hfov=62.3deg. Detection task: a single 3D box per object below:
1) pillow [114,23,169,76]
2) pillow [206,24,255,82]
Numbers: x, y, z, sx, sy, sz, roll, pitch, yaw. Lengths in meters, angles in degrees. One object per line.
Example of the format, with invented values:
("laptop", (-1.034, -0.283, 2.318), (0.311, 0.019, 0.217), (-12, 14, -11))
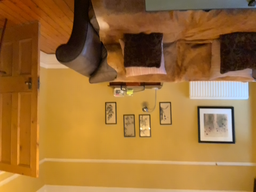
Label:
("pillow", (0.140, -0.490, 2.270), (0.450, 0.410, 0.150), (-20, 179, 2))
("pillow", (1.120, -0.430, 2.180), (0.450, 0.440, 0.180), (-18, 179, 2))
